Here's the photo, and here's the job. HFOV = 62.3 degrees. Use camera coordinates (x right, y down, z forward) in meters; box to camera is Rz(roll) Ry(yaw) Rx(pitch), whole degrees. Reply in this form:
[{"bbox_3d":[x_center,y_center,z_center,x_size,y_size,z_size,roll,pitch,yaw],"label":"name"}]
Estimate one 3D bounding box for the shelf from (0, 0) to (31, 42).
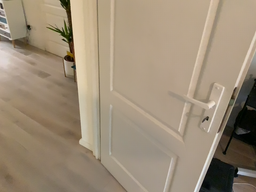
[{"bbox_3d":[-2.290,-1.440,3.840,0.890,0.680,0.300,16,35,17],"label":"shelf"}]
